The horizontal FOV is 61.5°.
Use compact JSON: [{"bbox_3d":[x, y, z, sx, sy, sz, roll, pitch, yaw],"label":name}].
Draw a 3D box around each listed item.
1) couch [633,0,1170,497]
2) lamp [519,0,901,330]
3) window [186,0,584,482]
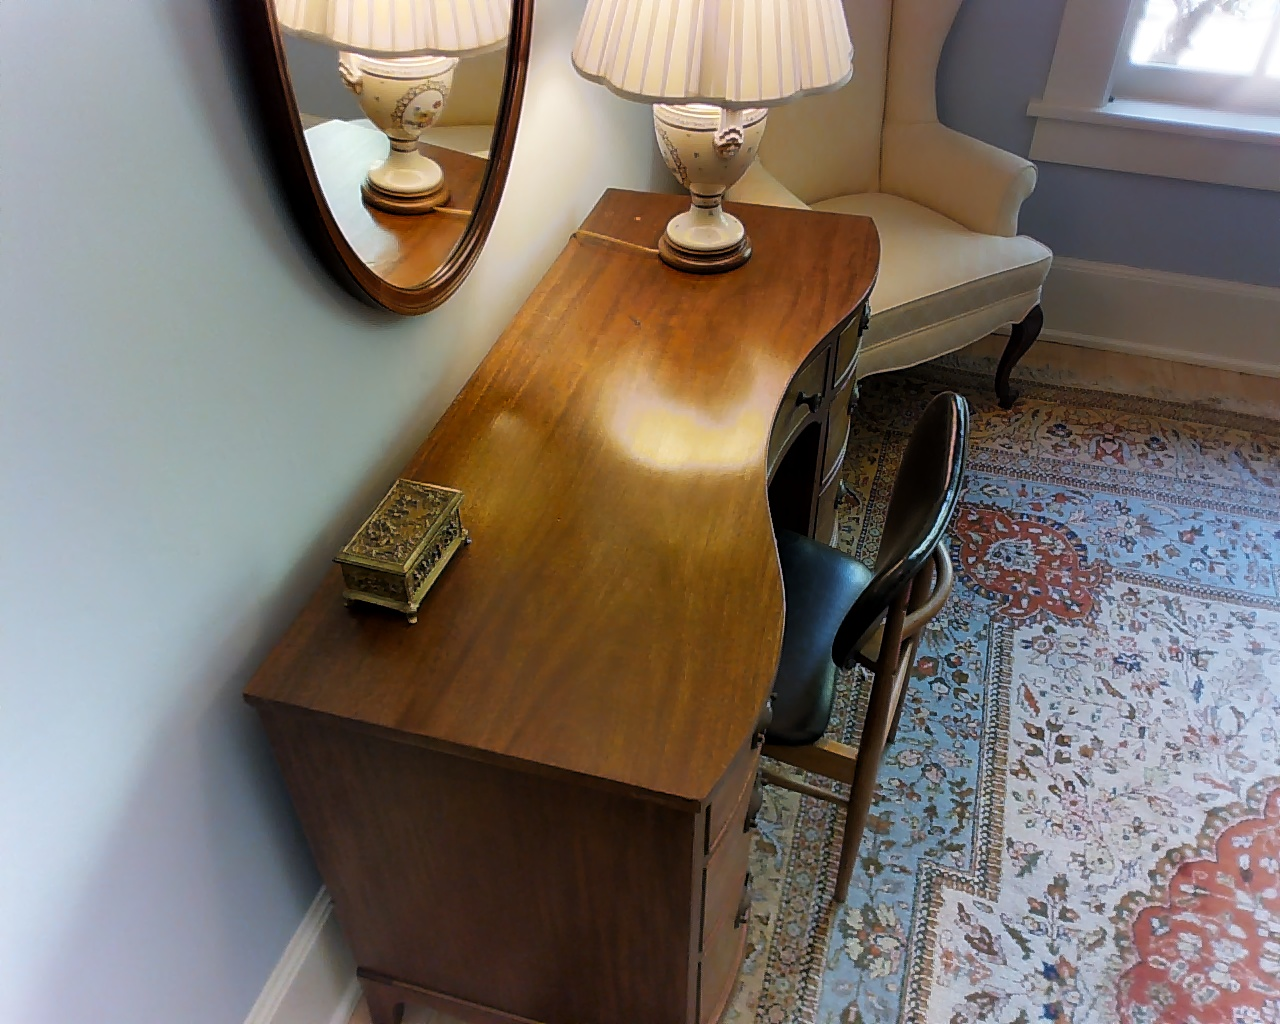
[{"bbox_3d":[0.490,-0.810,2.550,0.640,1.050,0.970,-19,45,-20],"label":"couch"},{"bbox_3d":[0.110,-0.650,1.500,0.440,0.620,0.350,13,43,14],"label":"lamp"},{"bbox_3d":[-0.230,-0.620,1.160,0.080,0.930,0.730,12,43,12],"label":"window"}]
